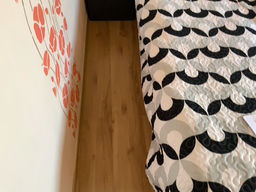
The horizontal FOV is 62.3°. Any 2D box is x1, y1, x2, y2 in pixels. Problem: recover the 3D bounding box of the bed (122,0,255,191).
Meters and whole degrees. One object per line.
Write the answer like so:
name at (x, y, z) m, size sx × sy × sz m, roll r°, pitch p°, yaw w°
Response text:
bed at (0.700, -0.380, 1.370) m, size 1.310 × 0.490 × 2.000 m, roll -4°, pitch 57°, yaw -6°
